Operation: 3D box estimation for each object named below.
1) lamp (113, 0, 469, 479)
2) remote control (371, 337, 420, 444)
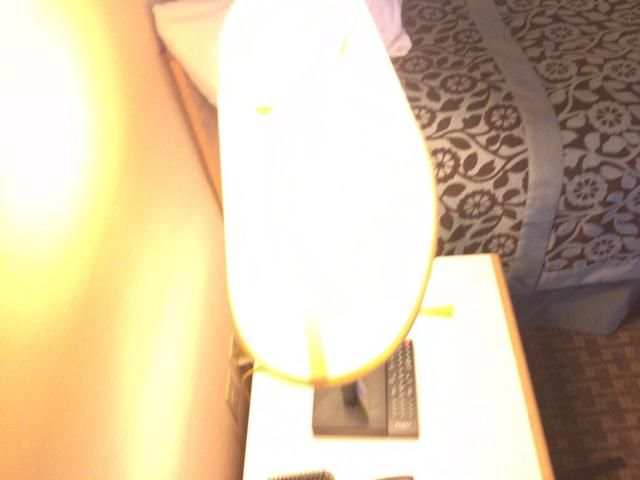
[{"bbox_3d":[0.040,0.030,0.770,0.230,0.690,0.450,-6,52,8],"label":"lamp"},{"bbox_3d":[0.130,0.260,1.010,0.070,0.030,0.180,-6,52,8],"label":"remote control"}]
